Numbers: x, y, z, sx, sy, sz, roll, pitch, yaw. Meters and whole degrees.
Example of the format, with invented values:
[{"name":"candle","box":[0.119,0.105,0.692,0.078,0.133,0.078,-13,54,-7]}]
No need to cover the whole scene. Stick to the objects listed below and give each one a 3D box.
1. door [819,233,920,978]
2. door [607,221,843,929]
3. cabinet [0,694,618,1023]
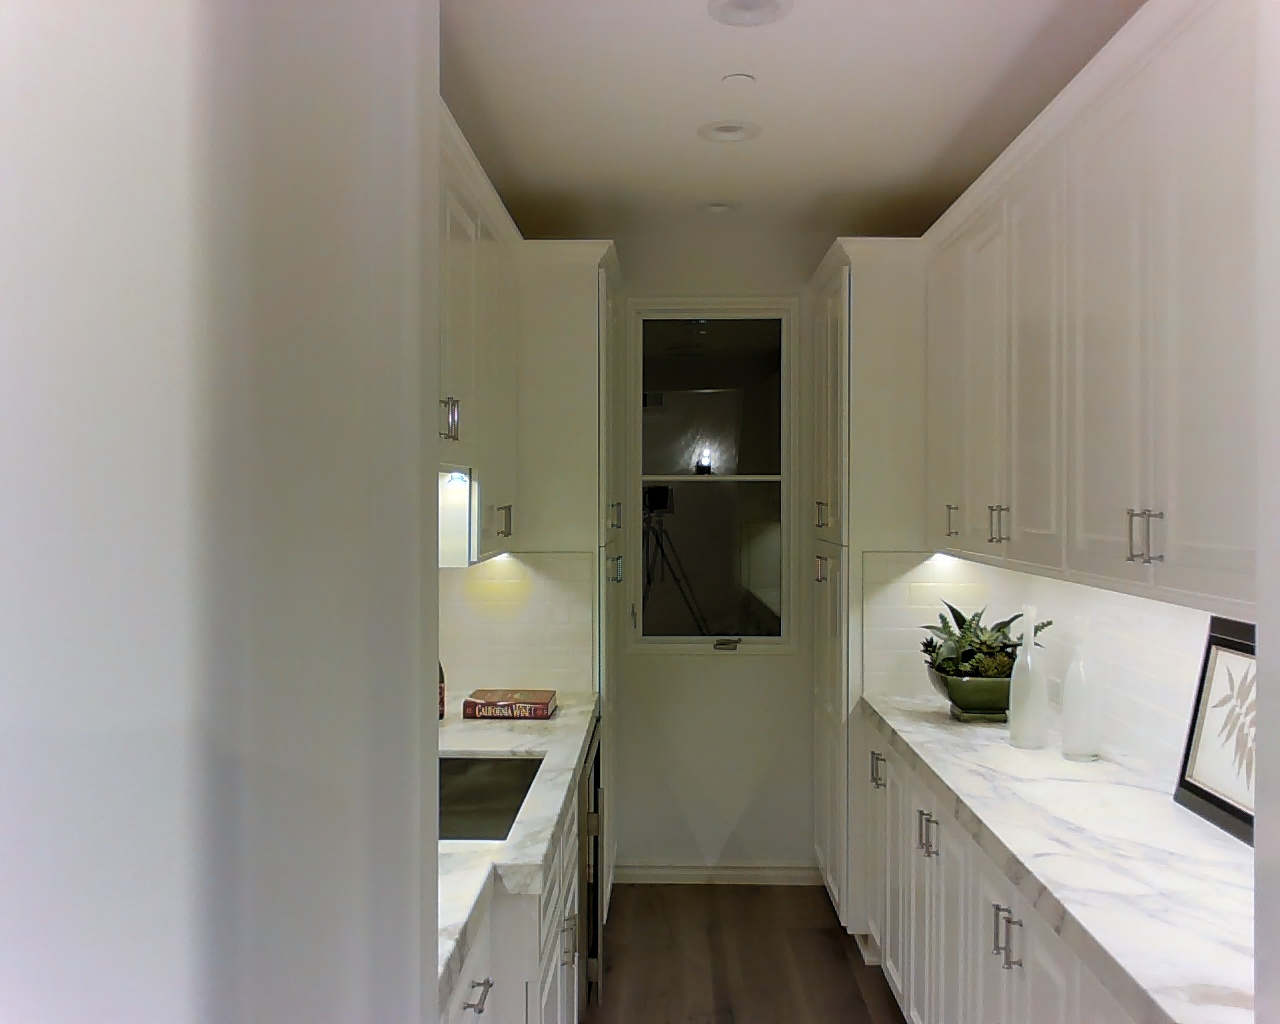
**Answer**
[{"name":"door","box":[0.850,0.320,4.060,0.250,2.551,0.760,0,0,2]},{"name":"door","box":[0.330,0.240,4.350,0.900,2.701,0.480,0,0,2]},{"name":"cabinet","box":[-0.460,1.130,2.450,0.660,0.980,2.640,0,0,2]}]
